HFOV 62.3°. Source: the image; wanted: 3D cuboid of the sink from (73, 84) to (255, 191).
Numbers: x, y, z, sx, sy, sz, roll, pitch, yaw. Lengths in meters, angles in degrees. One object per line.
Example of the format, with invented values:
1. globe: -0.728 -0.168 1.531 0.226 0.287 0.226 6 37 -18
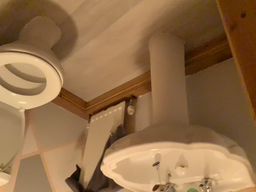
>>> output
1. sink: 0.150 0.240 0.890 0.580 0.170 0.470 -24 136 35
